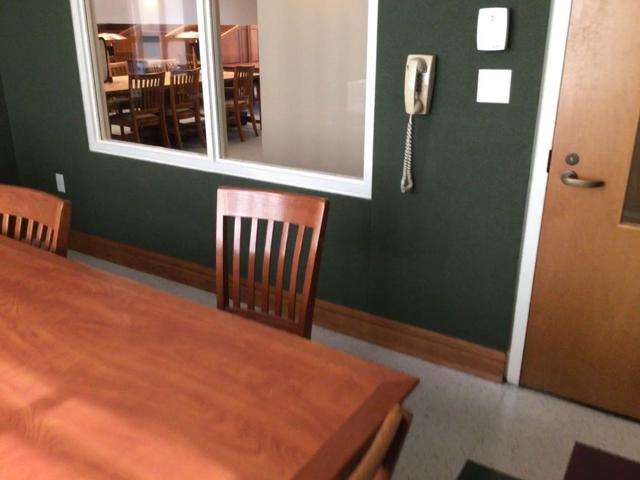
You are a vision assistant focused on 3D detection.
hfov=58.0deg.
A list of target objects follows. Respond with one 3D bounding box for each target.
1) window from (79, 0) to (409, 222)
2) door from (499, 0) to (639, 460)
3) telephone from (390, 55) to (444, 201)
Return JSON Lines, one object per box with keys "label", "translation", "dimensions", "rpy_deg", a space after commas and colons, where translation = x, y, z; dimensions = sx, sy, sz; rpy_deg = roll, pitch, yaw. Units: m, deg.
{"label": "window", "translation": [-0.480, -0.840, 2.890], "dimensions": [1.860, 1.110, 0.300], "rpy_deg": [15, 25, 33]}
{"label": "door", "translation": [1.210, -0.260, 1.780], "dimensions": [1.020, 2.260, 0.090], "rpy_deg": [14, 24, 31]}
{"label": "telephone", "translation": [0.370, -0.430, 2.230], "dimensions": [0.130, 0.530, 0.120], "rpy_deg": [15, 25, 33]}
